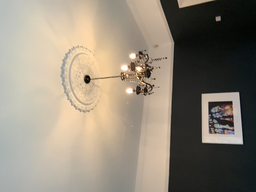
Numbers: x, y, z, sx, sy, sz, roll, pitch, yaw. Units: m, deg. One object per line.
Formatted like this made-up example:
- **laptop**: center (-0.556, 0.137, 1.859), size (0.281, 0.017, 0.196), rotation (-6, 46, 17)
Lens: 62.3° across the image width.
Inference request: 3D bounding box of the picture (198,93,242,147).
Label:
- **picture**: center (1.600, 0.400, 3.760), size (0.040, 0.680, 0.950), rotation (45, -133, -57)
